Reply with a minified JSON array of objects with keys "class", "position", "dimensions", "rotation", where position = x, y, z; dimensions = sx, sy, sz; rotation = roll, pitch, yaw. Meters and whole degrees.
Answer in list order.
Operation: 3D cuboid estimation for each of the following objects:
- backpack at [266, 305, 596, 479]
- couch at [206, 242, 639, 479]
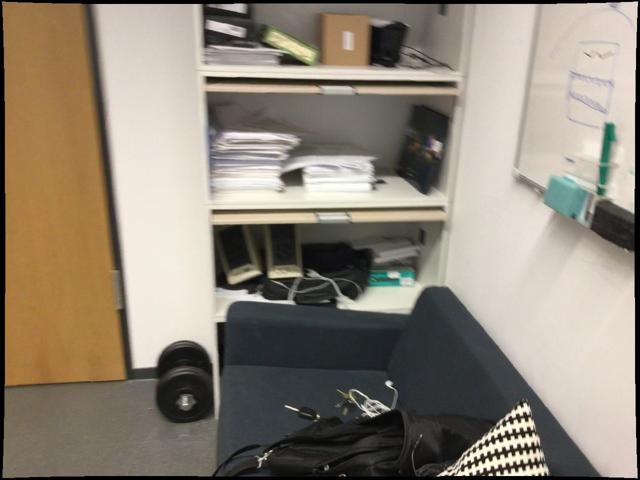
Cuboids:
[{"class":"backpack","position":[0.170,0.460,1.290],"dimensions":[0.529,0.370,0.550],"rotation":[-3,24,-10]},{"class":"couch","position":[0.140,0.631,1.470],"dimensions":[0.809,0.671,1.510],"rotation":[-3,24,-10]}]
